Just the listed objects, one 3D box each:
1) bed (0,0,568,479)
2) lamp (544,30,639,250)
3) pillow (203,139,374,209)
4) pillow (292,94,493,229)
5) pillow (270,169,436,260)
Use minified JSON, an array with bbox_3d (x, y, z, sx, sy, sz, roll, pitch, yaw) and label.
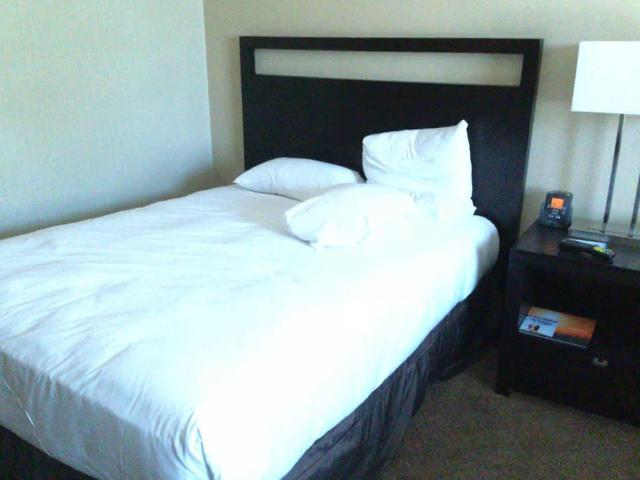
[{"bbox_3d":[-0.290,-0.080,2.270,1.720,1.480,2.050,14,22,32],"label":"bed"},{"bbox_3d":[1.190,-0.390,2.220,0.450,0.770,0.310,14,22,32],"label":"lamp"},{"bbox_3d":[-0.170,-0.370,3.050,0.770,0.190,0.460,14,22,32],"label":"pillow"},{"bbox_3d":[0.320,-0.400,2.690,0.780,0.470,0.450,14,22,32],"label":"pillow"},{"bbox_3d":[0.150,-0.130,2.380,0.410,0.180,0.620,14,22,32],"label":"pillow"}]
